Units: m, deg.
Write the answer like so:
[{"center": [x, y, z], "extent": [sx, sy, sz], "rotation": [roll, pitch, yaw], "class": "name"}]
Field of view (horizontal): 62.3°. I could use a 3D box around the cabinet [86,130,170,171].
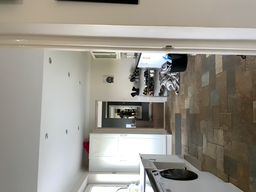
[{"center": [0.000, 1.420, 5.620], "extent": [0.610, 2.070, 0.920], "rotation": [120, 151, -87], "class": "cabinet"}]
